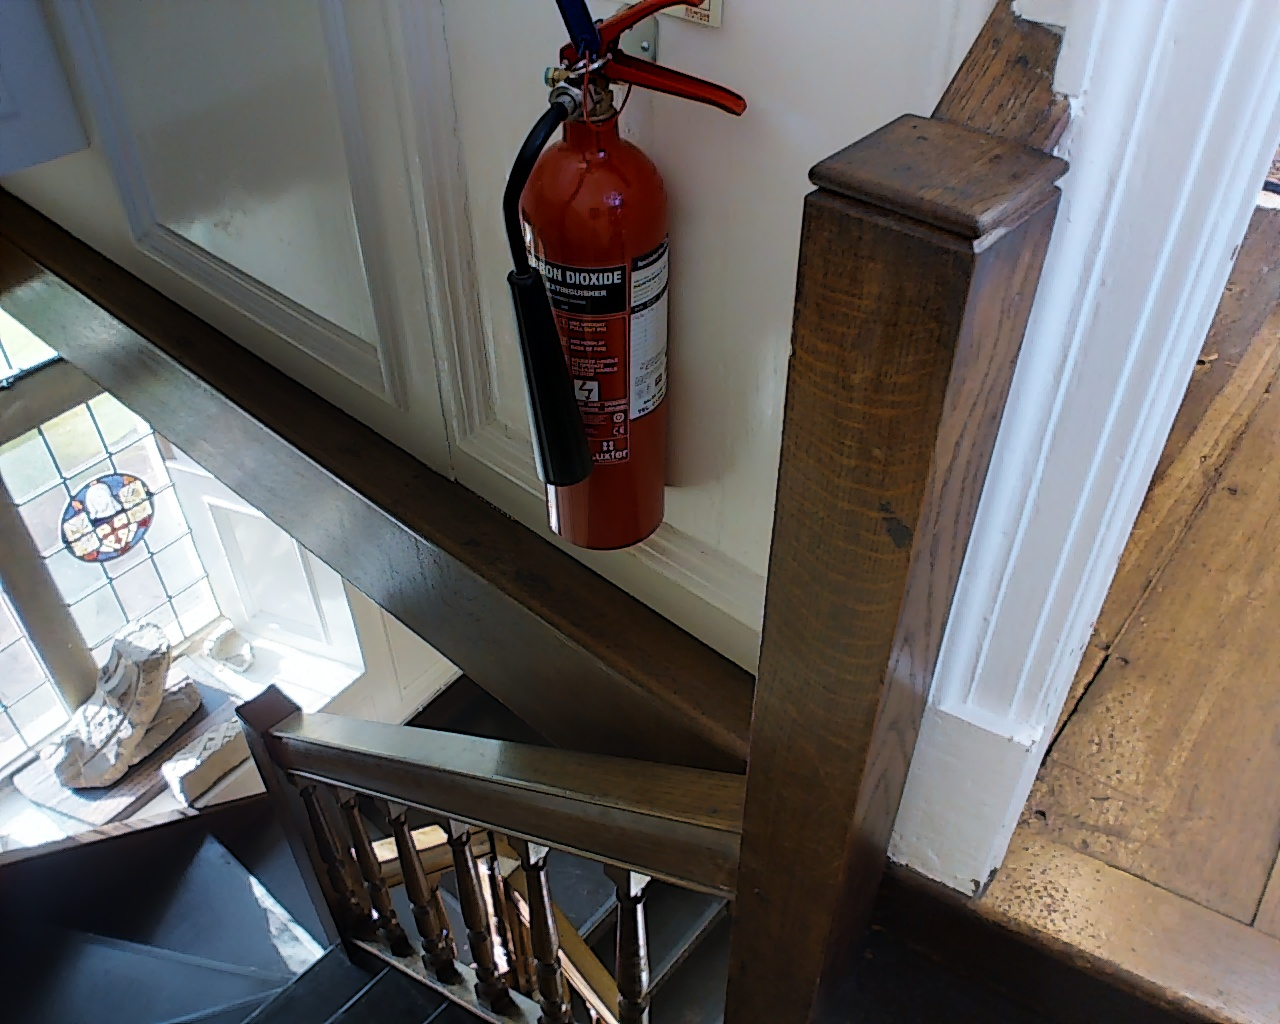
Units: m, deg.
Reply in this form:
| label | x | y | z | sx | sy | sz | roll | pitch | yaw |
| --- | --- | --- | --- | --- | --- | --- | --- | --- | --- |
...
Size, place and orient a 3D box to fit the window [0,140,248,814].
| label | x | y | z | sx | sy | sz | roll | pitch | yaw |
| --- | --- | --- | --- | --- | --- | --- | --- | --- | --- |
| window | -1.850 | 0.020 | 3.090 | 0.130 | 1.820 | 1.120 | 25 | 46 | 27 |
